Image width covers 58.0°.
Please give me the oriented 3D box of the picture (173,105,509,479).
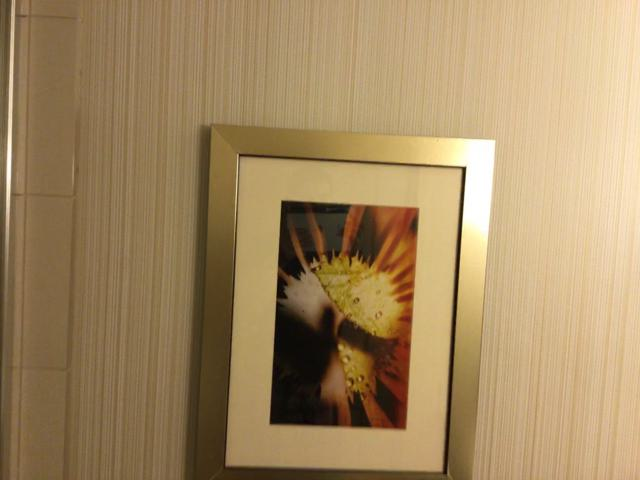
[{"bbox_3d":[0.030,0.140,1.000,0.520,0.690,0.040,4,4,-2],"label":"picture"}]
